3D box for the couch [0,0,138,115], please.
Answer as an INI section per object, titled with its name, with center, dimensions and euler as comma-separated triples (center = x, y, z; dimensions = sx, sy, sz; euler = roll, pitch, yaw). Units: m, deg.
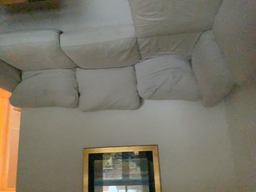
[couch]
center = -0.620, -0.320, 2.140
dimensions = 1.370, 0.860, 0.920
euler = -3, 167, 4
